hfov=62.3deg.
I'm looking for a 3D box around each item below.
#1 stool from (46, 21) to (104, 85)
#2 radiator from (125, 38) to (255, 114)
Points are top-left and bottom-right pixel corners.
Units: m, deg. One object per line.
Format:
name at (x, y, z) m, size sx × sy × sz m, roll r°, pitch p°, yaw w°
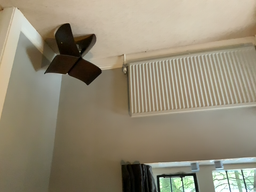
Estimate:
stool at (-0.480, -0.380, 1.960) m, size 0.430 × 0.380 × 0.290 m, roll 13°, pitch 151°, yaw -29°
radiator at (0.580, -0.190, 1.960) m, size 1.200 × 0.640 × 0.030 m, roll -6°, pitch 155°, yaw 7°
